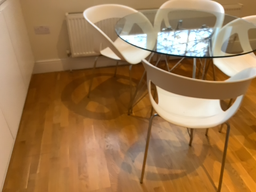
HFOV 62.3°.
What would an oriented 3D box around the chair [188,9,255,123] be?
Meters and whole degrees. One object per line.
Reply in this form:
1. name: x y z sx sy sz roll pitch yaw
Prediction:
1. chair: 0.950 -0.270 1.820 0.540 0.780 0.500 -8 35 -12
